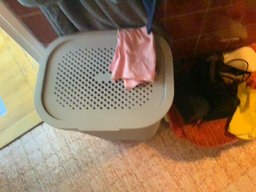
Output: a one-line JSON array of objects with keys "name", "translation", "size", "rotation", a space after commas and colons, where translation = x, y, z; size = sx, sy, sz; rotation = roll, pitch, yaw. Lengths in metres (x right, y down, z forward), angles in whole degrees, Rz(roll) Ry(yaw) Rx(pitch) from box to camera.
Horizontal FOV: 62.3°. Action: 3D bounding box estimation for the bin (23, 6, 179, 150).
[{"name": "bin", "translation": [-0.040, 0.010, 0.940], "size": [0.430, 0.650, 0.380], "rotation": [-2, 70, 7]}]
